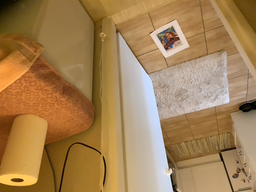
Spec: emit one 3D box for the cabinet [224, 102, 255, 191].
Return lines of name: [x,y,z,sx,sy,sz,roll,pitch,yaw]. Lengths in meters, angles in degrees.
cabinet: [1.480,0.650,2.470,0.350,0.900,0.660,-18,141,17]
